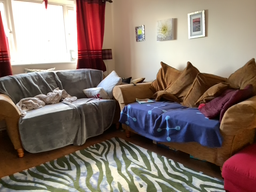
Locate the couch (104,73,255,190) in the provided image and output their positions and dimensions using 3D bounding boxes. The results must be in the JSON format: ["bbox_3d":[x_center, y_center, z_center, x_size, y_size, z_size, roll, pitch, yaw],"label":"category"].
[{"bbox_3d":[0.710,0.180,2.780,1.020,0.790,2.060,-11,15,-39],"label":"couch"}]

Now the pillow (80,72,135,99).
[{"bbox_3d":[-0.350,-0.180,3.520,0.610,0.230,0.650,8,9,-43],"label":"pillow"}]

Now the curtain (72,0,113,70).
[{"bbox_3d":[-0.650,-1.260,3.970,0.630,1.480,0.290,-10,14,-37],"label":"curtain"}]

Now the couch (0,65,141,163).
[{"bbox_3d":[-0.910,0.060,3.270,2.160,0.930,0.930,-11,15,-39],"label":"couch"}]

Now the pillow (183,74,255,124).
[{"bbox_3d":[1.000,0.050,2.330,0.600,0.360,0.480,-7,-15,-3],"label":"pillow"}]
